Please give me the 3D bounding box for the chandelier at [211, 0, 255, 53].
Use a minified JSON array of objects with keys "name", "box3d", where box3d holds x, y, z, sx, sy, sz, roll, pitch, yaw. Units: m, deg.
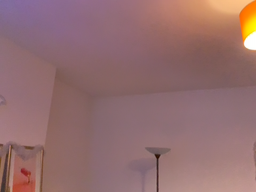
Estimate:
[{"name":"chandelier","box3d":[0.860,-0.490,1.310,0.570,0.370,0.260,4,164,-8]}]
